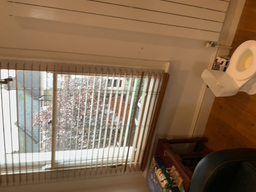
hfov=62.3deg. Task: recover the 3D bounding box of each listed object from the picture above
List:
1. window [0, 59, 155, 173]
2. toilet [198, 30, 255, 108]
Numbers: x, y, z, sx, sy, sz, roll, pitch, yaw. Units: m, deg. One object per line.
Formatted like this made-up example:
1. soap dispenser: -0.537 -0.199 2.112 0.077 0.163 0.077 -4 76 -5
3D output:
1. window: -0.560 0.180 1.560 0.060 1.460 0.860 -125 41 -58
2. toilet: 0.800 -0.180 1.530 0.330 0.300 0.430 -110 29 -45
